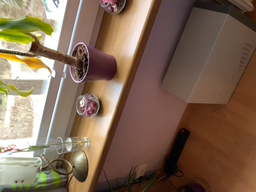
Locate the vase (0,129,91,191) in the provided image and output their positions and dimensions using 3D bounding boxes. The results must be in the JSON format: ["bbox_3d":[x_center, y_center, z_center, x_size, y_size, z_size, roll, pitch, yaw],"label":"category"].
[{"bbox_3d":[-0.490,0.320,0.950,0.180,0.580,0.250,35,113,44],"label":"vase"}]
